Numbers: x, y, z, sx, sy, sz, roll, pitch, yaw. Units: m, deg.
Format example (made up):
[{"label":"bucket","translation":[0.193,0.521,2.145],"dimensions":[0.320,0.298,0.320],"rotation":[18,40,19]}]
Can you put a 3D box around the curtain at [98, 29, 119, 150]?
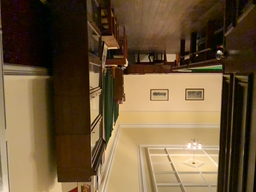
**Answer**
[{"label":"curtain","translation":[-0.510,-0.200,5.950],"dimensions":[0.380,2.950,1.570],"rotation":[1,-174,1]}]
